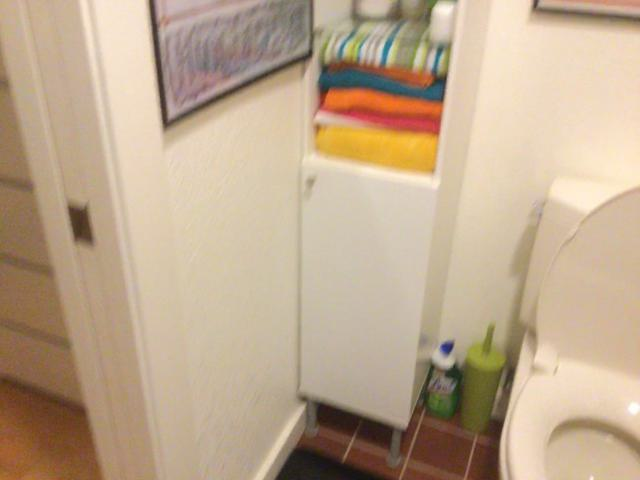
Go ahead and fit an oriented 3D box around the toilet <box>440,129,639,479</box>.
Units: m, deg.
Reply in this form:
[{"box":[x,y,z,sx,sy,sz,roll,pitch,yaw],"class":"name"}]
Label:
[{"box":[0.530,0.330,1.110,0.450,0.860,0.700,17,29,20],"class":"toilet"}]
